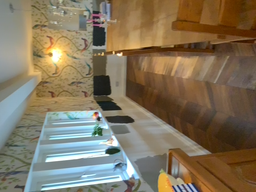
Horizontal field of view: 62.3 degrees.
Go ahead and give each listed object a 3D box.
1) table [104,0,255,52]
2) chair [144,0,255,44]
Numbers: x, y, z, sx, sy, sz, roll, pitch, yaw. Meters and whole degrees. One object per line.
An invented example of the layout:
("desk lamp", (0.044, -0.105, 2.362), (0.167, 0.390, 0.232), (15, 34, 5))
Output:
("table", (0.410, -1.190, 3.060), (3.610, 0.810, 1.010), (-147, 58, -70))
("chair", (0.740, -0.620, 1.470), (0.500, 1.120, 0.430), (-147, 58, -70))
